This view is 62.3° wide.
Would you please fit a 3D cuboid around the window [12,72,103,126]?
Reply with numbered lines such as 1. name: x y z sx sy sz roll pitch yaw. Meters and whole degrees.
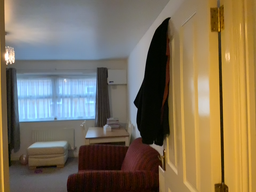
1. window: -1.710 0.050 5.270 2.130 1.270 0.090 -2 1 -7

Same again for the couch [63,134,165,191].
1. couch: -0.210 1.070 2.730 0.970 0.860 1.400 -2 0 -8

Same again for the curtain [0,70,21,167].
1. curtain: -2.700 0.500 4.810 0.410 2.150 0.150 -2 1 -6

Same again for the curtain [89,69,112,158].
1. curtain: -0.670 0.410 5.150 0.480 2.130 0.140 -2 1 -7
